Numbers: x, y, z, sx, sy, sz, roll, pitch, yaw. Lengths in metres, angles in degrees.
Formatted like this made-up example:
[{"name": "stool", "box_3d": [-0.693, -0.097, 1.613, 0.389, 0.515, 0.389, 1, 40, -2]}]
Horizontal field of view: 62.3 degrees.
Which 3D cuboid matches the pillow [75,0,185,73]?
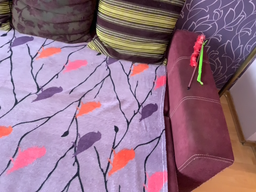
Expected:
[{"name": "pillow", "box_3d": [0.000, -0.500, 1.430, 0.510, 0.500, 0.220, 26, 41, -23]}]
